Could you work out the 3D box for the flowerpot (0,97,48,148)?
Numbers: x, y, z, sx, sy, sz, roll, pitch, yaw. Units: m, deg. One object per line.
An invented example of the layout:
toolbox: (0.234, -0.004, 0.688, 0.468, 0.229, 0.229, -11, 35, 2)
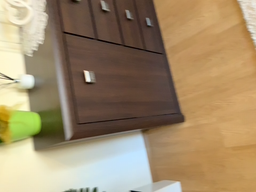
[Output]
flowerpot: (-0.640, 0.130, 0.980, 0.150, 0.460, 0.220, -21, 75, 43)
